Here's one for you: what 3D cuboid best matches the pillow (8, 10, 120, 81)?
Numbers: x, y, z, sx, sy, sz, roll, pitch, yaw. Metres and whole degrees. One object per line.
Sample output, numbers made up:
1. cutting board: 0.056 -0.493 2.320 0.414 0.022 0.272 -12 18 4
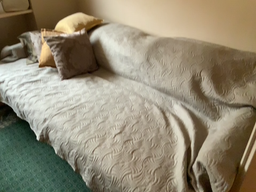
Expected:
1. pillow: -0.580 -0.520 1.940 0.670 0.300 0.770 -26 41 -33
